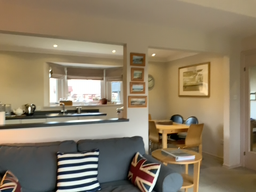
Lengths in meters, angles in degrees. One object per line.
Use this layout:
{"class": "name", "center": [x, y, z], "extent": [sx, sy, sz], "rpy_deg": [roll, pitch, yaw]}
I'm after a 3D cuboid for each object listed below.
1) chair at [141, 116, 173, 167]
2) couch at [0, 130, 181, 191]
{"class": "chair", "center": [0.560, 0.850, 4.110], "extent": [0.510, 0.850, 0.370], "rpy_deg": [0, 1, -27]}
{"class": "couch", "center": [-0.490, 0.880, 2.050], "extent": [1.710, 0.820, 0.980], "rpy_deg": [0, 1, -25]}
